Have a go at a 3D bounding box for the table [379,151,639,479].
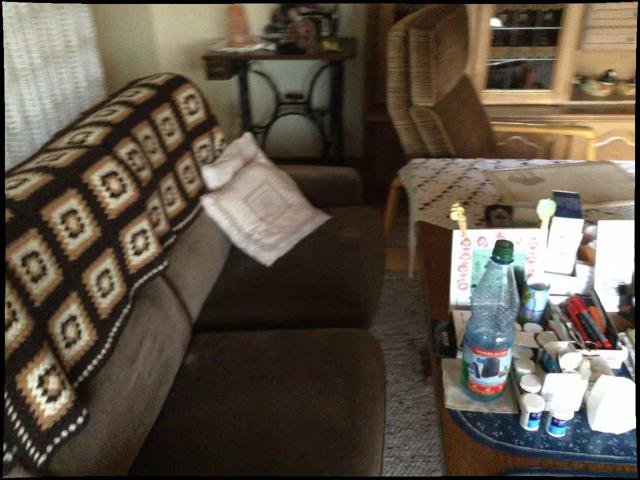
[{"bbox_3d":[0.569,0.440,1.310,0.779,0.690,1.590,1,32,3],"label":"table"}]
